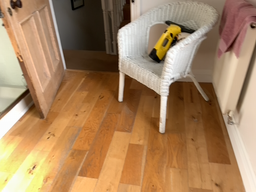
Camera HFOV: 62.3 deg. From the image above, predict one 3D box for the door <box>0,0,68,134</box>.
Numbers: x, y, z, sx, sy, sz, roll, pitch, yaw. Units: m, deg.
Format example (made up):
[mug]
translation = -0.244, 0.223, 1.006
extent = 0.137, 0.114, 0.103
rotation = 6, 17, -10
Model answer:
[door]
translation = -0.760, -0.790, 1.470
extent = 0.130, 2.080, 0.830
rotation = -3, 34, -1
